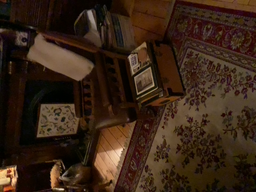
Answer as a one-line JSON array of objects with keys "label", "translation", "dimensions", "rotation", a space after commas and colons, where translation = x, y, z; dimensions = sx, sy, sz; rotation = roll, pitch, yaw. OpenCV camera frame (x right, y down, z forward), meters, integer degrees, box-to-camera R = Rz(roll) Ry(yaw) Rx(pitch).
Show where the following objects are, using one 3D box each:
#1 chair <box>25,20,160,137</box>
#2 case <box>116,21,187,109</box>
[{"label": "chair", "translation": [-0.370, -0.090, 2.100], "dimensions": [0.730, 1.020, 0.800], "rotation": [-22, 73, 51]}, {"label": "case", "translation": [0.190, -0.240, 1.900], "dimensions": [0.420, 0.340, 0.630], "rotation": [-23, 72, 50]}]
